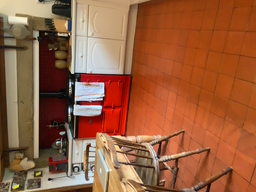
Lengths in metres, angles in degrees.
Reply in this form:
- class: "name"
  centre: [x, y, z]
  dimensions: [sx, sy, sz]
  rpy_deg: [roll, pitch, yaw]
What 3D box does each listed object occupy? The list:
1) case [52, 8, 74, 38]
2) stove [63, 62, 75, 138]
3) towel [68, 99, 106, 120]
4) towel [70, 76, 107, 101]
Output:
- class: "case"
  centre: [-0.930, -1.030, 3.000]
  dimensions: [0.300, 0.270, 0.350]
  rpy_deg: [-139, 52, -62]
- class: "stove"
  centre: [-0.940, 0.040, 3.340]
  dimensions: [0.680, 0.070, 1.030]
  rpy_deg: [-140, 53, -63]
- class: "towel"
  centre: [-0.590, 0.190, 3.080]
  dimensions: [0.140, 0.510, 0.260]
  rpy_deg: [-141, 54, -63]
- class: "towel"
  centre: [-0.570, -0.110, 3.030]
  dimensions: [0.140, 0.490, 0.320]
  rpy_deg: [-139, 52, -62]
